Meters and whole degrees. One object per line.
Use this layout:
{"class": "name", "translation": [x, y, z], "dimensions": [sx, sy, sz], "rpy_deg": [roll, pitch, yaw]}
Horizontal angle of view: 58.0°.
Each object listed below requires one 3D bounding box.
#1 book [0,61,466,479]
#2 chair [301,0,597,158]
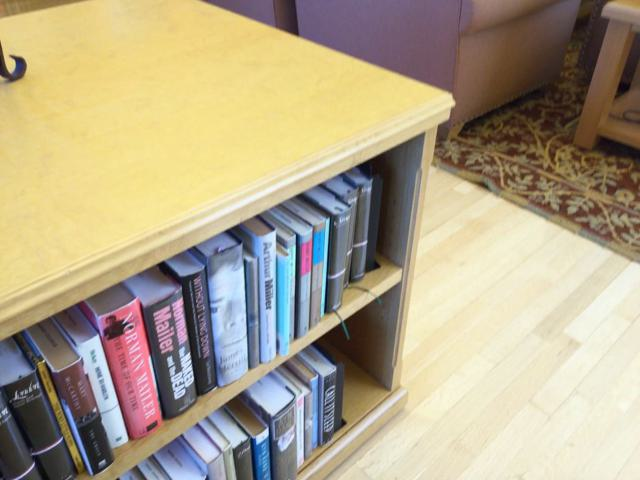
{"class": "book", "translation": [-0.200, 0.090, 0.790], "dimensions": [0.990, 0.380, 0.180], "rpy_deg": [-29, 46, -32]}
{"class": "chair", "translation": [0.520, -0.890, 2.470], "dimensions": [0.800, 0.550, 0.900], "rpy_deg": [-30, 46, -32]}
